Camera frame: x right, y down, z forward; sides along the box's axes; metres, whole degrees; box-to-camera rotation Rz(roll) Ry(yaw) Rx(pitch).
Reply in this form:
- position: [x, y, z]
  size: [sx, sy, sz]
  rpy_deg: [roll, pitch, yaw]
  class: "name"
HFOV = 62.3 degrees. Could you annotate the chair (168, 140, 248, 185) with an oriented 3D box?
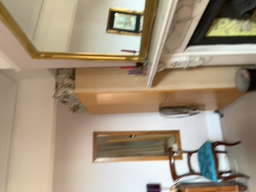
- position: [1.020, 0.890, 2.870]
  size: [0.520, 0.820, 0.500]
  rpy_deg: [93, 174, -73]
  class: "chair"
